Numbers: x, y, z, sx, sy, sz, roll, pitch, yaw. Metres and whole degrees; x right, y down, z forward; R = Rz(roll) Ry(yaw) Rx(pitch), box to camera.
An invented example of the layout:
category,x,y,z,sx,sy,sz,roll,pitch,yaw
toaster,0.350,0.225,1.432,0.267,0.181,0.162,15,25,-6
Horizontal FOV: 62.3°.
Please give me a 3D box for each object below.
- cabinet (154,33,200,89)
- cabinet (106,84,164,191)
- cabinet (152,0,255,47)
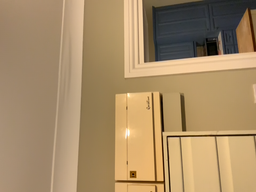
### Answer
category,x,y,z,sx,sy,sz,roll,pitch,yaw
cabinet,0.980,-0.680,4.320,0.440,0.820,0.960,40,-132,-74
cabinet,0.030,0.320,0.900,0.090,0.230,0.730,47,-139,-72
cabinet,1.560,-1.510,4.270,0.610,2.070,0.630,40,-132,-74
